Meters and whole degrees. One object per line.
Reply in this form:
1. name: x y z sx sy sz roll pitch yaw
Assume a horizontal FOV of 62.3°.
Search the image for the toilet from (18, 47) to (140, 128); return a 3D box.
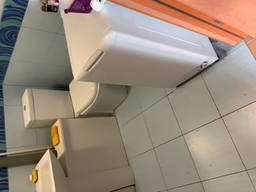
1. toilet: -0.470 -0.020 1.990 0.700 0.860 0.360 -39 60 42
